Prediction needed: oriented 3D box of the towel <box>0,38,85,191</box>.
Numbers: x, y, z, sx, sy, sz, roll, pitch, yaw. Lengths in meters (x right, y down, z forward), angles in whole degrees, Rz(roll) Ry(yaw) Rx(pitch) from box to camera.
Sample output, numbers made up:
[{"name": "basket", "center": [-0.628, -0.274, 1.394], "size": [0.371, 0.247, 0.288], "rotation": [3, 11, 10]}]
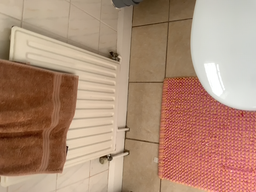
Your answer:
[{"name": "towel", "center": [-0.310, 0.070, 0.640], "size": [0.080, 0.400, 0.420], "rotation": [3, 88, 29]}]
